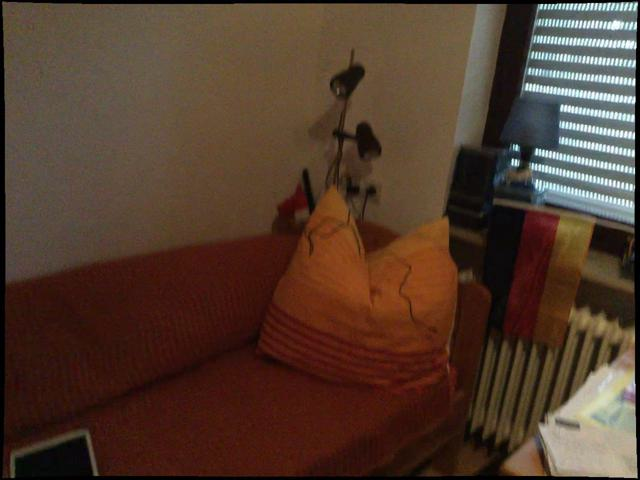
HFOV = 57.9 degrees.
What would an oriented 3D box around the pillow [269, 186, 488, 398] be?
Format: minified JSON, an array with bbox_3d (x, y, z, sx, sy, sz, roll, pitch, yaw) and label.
[{"bbox_3d":[0.170,0.120,1.830,0.500,0.440,0.430,18,24,39],"label":"pillow"}]

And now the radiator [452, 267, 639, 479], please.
[{"bbox_3d":[0.869,0.531,1.870,0.770,0.661,0.250,18,24,39],"label":"radiator"}]

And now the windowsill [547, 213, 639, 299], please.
[{"bbox_3d":[1.089,0.100,1.620,0.780,0.140,0.290,18,24,39],"label":"windowsill"}]
